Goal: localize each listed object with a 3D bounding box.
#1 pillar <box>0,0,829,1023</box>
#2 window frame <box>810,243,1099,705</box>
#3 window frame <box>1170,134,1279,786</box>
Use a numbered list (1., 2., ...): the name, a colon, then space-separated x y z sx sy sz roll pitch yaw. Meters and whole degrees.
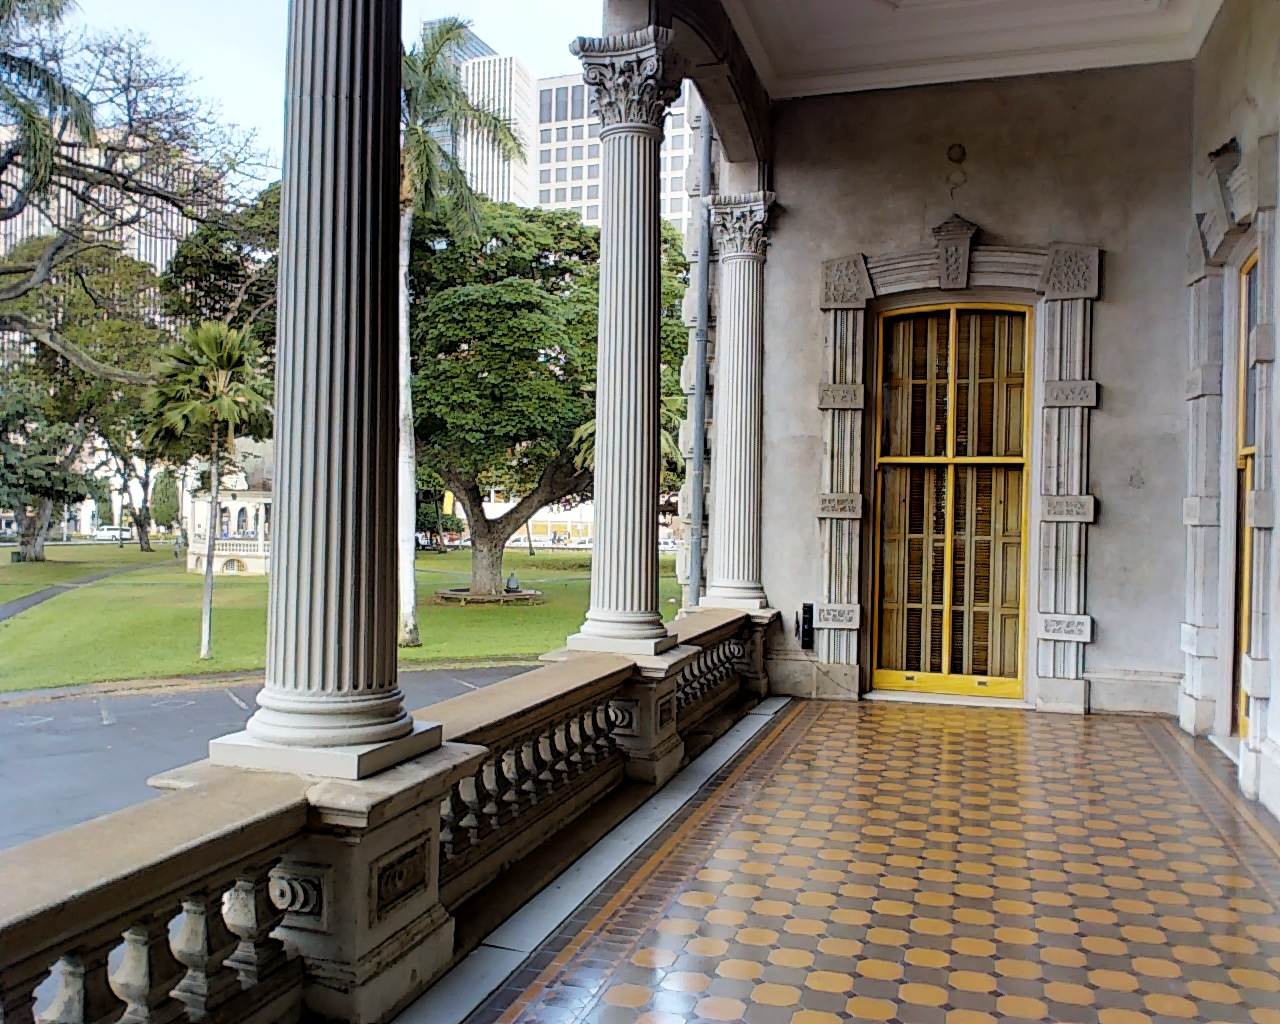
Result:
1. pillar: -0.880 -1.220 3.100 0.890 5.611 13.430 1 1 18
2. window frame: 2.610 -0.320 9.070 2.220 3.680 0.370 1 1 18
3. window frame: 3.859 -0.300 7.060 0.320 3.690 1.990 1 1 18
